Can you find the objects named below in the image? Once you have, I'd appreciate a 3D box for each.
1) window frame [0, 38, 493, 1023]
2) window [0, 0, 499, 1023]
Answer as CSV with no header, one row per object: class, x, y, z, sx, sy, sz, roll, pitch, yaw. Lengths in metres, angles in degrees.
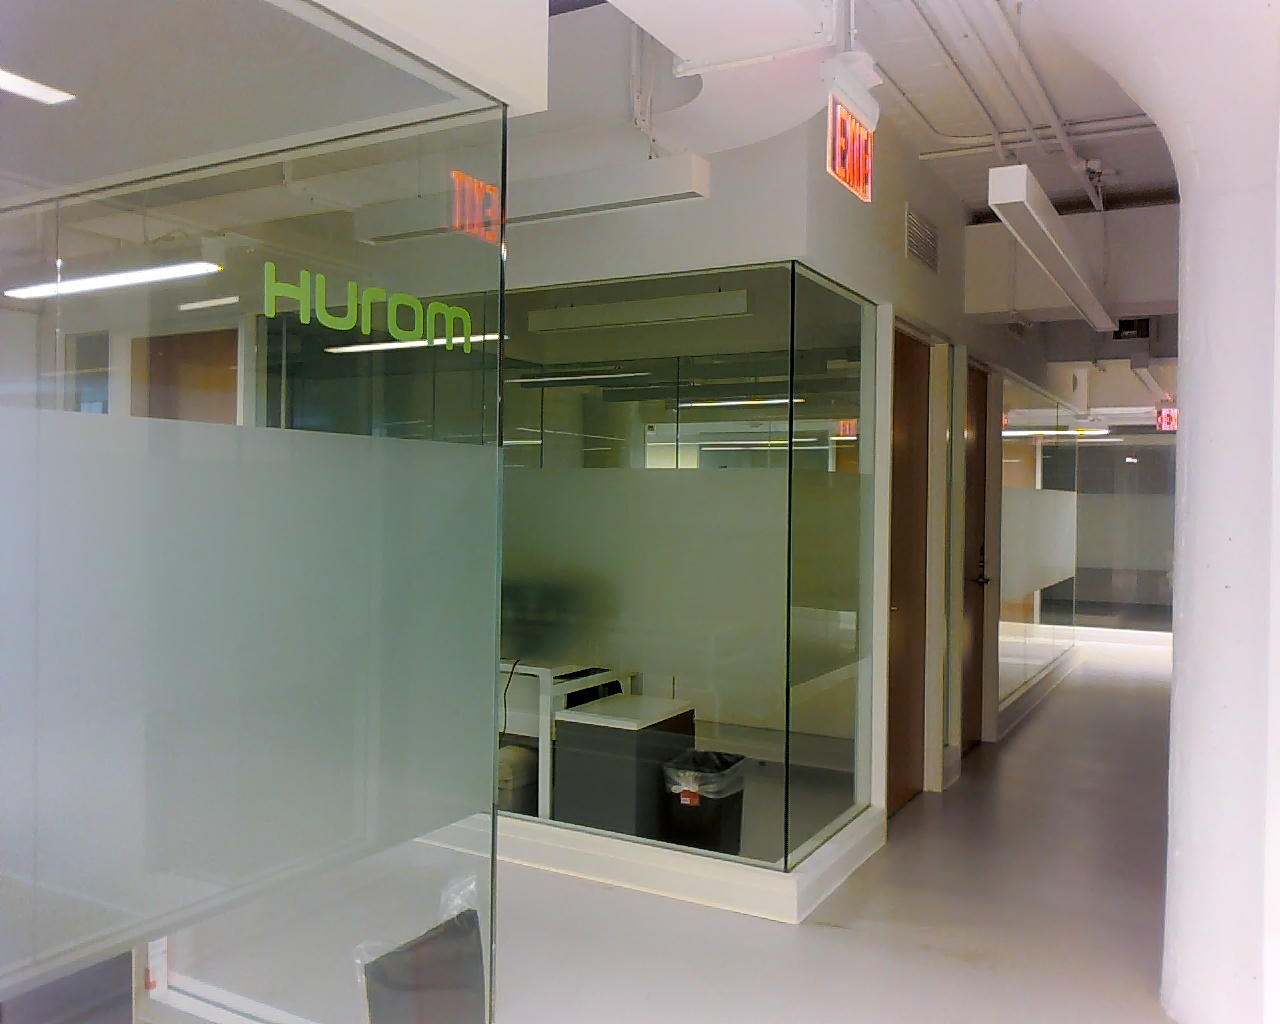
window frame,-2.419,0.150,3.390,4.659,2.291,0.170,1,0,29
window,-1.110,0.210,0.830,0.040,2.140,3.280,1,0,29
